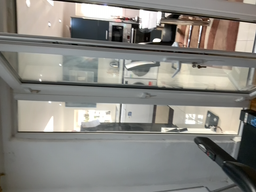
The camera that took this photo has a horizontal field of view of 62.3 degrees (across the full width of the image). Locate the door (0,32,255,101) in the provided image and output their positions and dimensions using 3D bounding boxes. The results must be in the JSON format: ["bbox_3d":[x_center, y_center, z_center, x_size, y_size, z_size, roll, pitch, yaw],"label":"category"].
[{"bbox_3d":[0.170,-0.140,1.630,0.850,2.290,0.080,122,148,-70],"label":"door"}]
